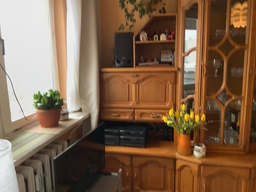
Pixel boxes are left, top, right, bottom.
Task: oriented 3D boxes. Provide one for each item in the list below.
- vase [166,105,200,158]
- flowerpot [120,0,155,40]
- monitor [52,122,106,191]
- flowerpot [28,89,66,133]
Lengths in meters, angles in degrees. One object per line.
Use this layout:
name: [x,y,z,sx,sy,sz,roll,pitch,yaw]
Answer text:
vase: [0.550,0.340,2.140,0.300,0.450,0.260,2,10,14]
flowerpot: [0.110,-1.010,2.240,0.330,0.780,0.260,1,10,11]
monitor: [-0.320,0.510,1.590,0.040,0.440,0.730,2,10,15]
flowerpot: [-0.700,0.120,1.860,0.190,0.320,0.270,0,10,5]
